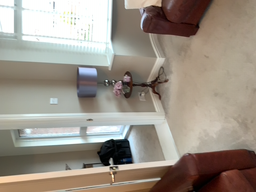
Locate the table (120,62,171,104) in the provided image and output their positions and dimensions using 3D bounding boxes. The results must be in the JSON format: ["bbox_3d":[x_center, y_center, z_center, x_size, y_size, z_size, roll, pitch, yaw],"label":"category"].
[{"bbox_3d":[0.210,-0.160,2.780,0.380,0.500,0.360,112,152,-47],"label":"table"}]

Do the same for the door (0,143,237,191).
[{"bbox_3d":[-0.240,0.650,1.750,0.950,2.000,0.120,121,145,-56],"label":"door"}]
